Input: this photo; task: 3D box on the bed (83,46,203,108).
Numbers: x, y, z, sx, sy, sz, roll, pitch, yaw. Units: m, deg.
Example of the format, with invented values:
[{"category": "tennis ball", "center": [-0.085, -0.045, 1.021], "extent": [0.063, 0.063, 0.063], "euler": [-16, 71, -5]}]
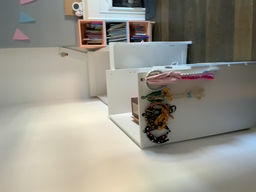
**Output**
[{"category": "bed", "center": [0.080, -0.340, 3.060], "extent": [1.540, 1.190, 0.610], "euler": [-157, 63, -69]}]
